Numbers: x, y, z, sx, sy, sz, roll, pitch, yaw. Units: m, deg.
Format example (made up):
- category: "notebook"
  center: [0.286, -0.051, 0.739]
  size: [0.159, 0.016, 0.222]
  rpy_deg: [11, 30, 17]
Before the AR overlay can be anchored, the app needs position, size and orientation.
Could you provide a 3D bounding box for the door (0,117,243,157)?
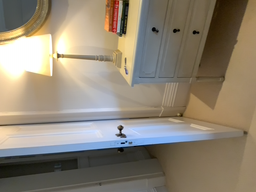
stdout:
- category: "door"
  center: [-0.350, 0.280, 1.620]
  size: [0.850, 2.200, 0.070]
  rpy_deg: [172, 96, -74]
